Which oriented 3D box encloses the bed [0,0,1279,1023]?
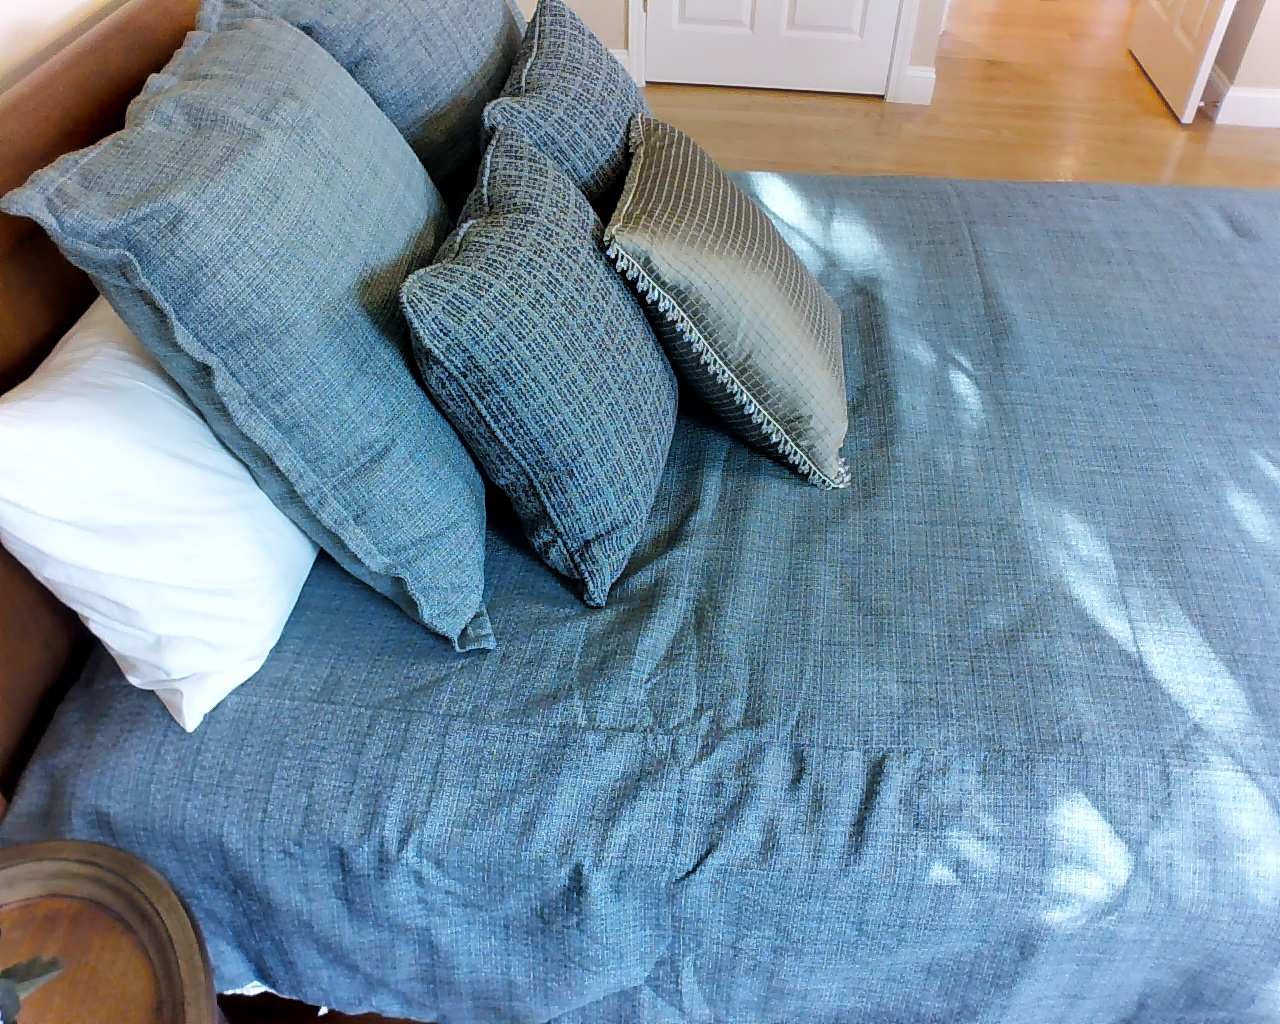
[{"bbox_3d":[0.430,-0.110,1.670,2.370,1.170,1.840,5,43,4],"label":"bed"}]
